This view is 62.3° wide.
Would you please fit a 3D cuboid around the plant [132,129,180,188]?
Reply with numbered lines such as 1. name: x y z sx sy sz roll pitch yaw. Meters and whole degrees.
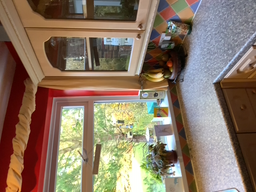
1. plant: 0.220 0.540 1.830 0.280 0.300 0.420 101 166 -59

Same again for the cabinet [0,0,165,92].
1. cabinet: -0.290 -0.470 1.420 1.170 0.870 0.340 103 164 -61
